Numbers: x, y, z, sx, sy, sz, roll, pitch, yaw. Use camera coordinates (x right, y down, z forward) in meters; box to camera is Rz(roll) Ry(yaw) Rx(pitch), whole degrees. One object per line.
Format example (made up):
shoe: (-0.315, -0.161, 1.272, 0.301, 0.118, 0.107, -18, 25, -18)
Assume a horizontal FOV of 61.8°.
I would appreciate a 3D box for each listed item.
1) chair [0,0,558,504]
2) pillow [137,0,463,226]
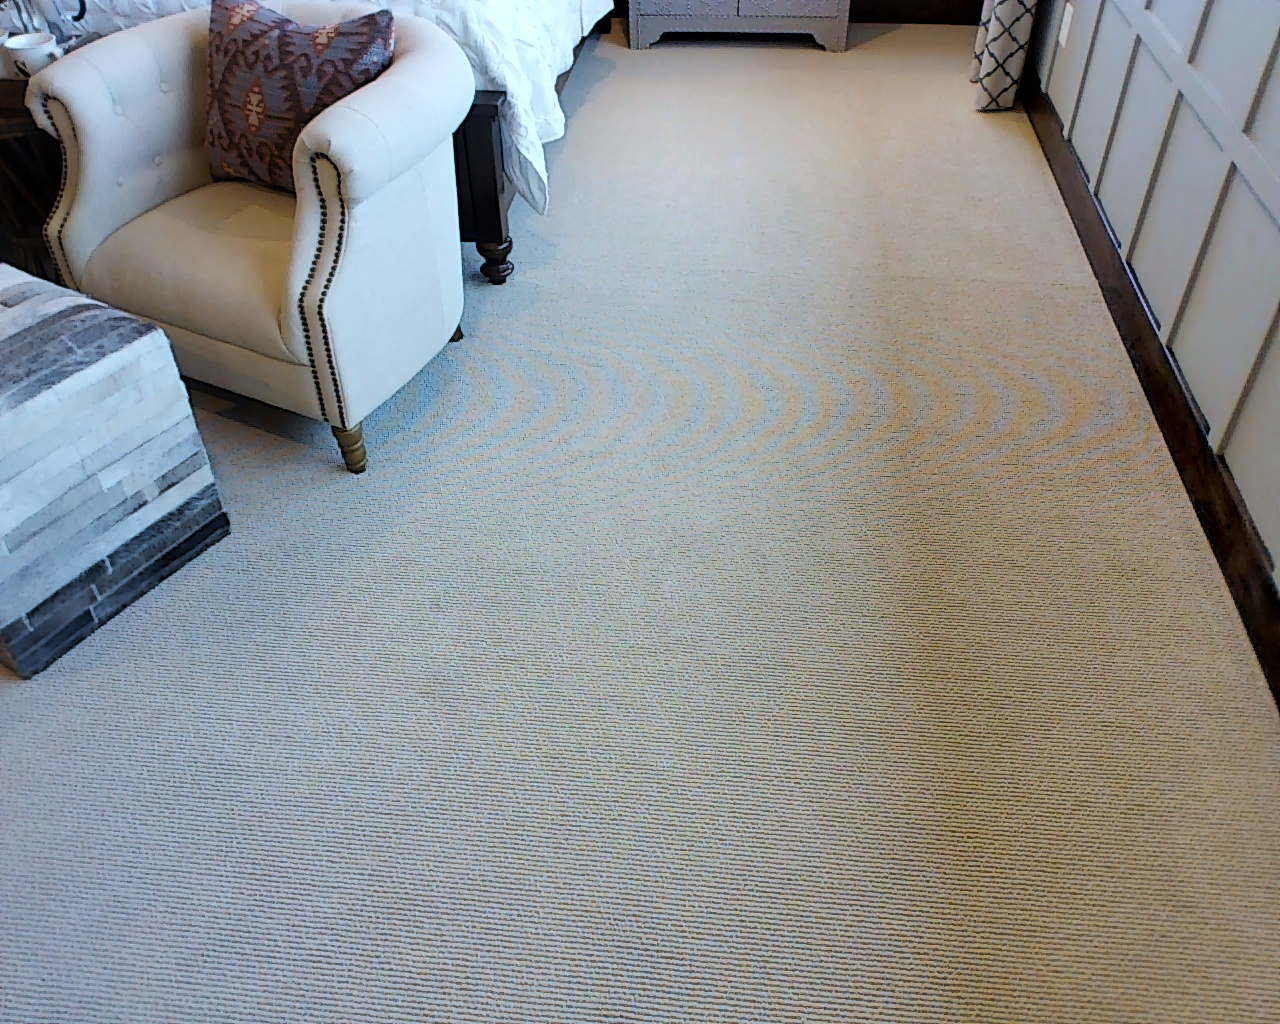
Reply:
chair: (-0.790, -0.640, 2.340, 0.910, 0.710, 0.810, 15, 43, 18)
pillow: (-0.710, -0.870, 2.220, 0.560, 0.370, 0.210, -3, 44, 41)
